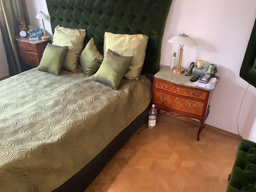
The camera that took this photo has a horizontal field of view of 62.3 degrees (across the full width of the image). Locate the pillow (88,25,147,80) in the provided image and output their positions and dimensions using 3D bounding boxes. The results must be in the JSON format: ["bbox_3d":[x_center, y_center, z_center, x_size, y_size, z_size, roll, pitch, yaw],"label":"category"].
[{"bbox_3d":[-0.110,-0.520,2.530,0.600,0.510,0.230,17,50,27],"label":"pillow"}]

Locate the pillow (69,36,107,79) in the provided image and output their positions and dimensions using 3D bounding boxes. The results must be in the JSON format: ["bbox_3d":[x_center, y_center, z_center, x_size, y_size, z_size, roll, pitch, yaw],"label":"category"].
[{"bbox_3d":[-0.510,-0.510,2.760,0.380,0.420,0.270,19,35,27],"label":"pillow"}]

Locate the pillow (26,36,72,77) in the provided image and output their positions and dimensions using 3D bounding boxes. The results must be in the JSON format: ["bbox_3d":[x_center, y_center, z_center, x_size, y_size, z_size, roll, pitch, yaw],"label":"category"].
[{"bbox_3d":[-1.050,-0.530,2.860,0.380,0.400,0.280,17,50,27],"label":"pillow"}]

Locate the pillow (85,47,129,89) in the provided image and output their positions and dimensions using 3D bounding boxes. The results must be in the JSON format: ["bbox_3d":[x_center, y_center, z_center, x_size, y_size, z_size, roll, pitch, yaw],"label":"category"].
[{"bbox_3d":[-0.230,-0.330,2.410,0.380,0.300,0.300,22,37,32],"label":"pillow"}]
